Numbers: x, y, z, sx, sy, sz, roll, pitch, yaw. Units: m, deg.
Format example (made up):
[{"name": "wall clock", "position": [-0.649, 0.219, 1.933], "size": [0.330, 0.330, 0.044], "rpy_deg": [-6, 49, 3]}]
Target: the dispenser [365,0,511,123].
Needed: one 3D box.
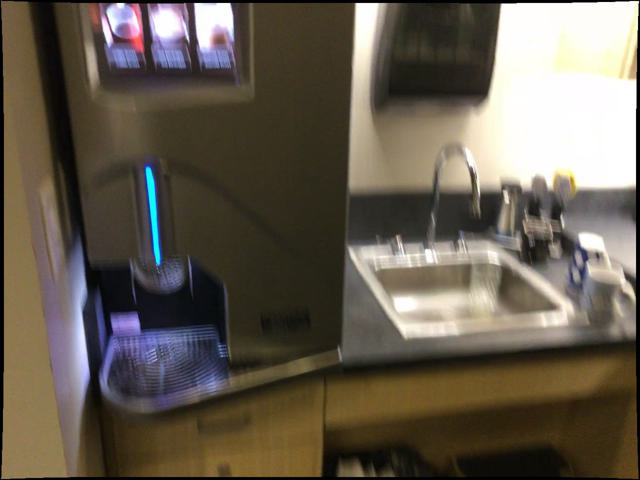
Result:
[{"name": "dispenser", "position": [0.309, -0.561, 1.530], "size": [0.319, 0.461, 0.160], "rpy_deg": [-4, 24, -14]}]

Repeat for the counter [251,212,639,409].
[{"name": "counter", "position": [0.339, 0.120, 1.540], "size": [0.948, 0.100, 0.690], "rpy_deg": [-4, 24, -14]}]
